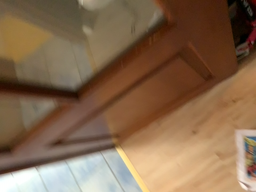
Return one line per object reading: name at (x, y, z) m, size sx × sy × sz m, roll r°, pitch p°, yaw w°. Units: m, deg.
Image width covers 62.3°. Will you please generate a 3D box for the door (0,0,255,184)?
door at (-0.250, 0.000, 0.430) m, size 1.030 × 2.090 × 0.100 m, roll -36°, pitch 70°, yaw 21°
